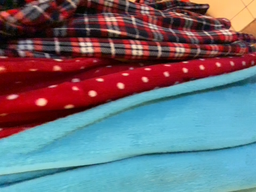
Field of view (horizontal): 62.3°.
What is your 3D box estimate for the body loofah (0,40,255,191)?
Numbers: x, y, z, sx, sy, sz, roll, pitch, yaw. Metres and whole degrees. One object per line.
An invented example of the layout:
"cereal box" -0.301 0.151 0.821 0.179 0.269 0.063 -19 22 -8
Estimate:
"body loofah" 0.180 0.110 0.410 0.180 1.080 0.320 -34 68 48
